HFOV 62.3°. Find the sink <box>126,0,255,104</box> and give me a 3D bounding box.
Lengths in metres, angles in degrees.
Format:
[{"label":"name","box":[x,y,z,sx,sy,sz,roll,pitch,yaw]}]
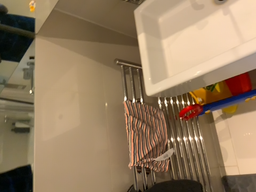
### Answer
[{"label":"sink","box":[0.260,-0.290,0.660,0.620,0.130,0.470,-25,65,46]}]
